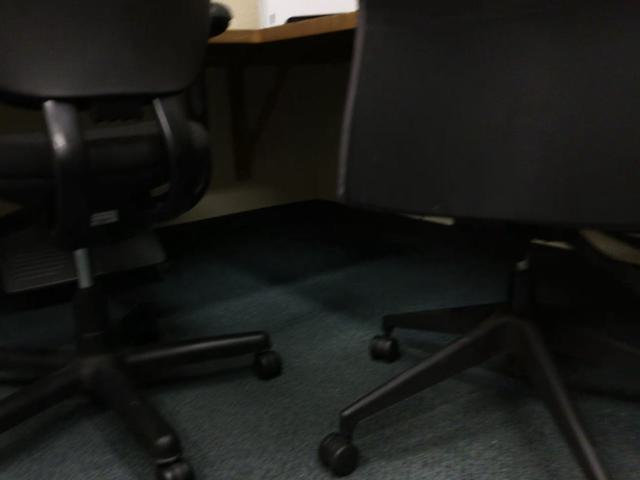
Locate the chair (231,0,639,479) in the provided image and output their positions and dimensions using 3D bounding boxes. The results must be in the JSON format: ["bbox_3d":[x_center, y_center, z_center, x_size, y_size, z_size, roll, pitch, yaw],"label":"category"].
[{"bbox_3d":[0.300,-0.170,0.920,0.650,0.980,0.620,5,12,19],"label":"chair"}]

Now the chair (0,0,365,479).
[{"bbox_3d":[-0.410,-0.180,1.020,0.700,1.050,0.660,-8,14,-37],"label":"chair"}]
